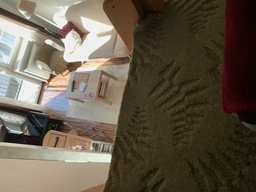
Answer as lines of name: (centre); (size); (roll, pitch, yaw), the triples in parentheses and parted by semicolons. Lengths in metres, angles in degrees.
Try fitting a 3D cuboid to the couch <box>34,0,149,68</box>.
couch: (-0.820, -1.270, 4.350); (2.210, 0.870, 1.070); (4, 78, 39)
